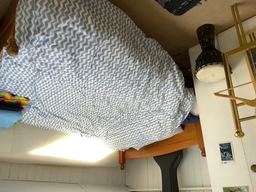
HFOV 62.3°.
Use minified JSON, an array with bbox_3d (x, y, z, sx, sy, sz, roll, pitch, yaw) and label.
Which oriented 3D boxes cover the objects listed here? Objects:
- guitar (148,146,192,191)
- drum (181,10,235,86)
[{"bbox_3d":[0.510,1.010,2.590,0.400,0.700,0.290,-24,147,39],"label":"guitar"},{"bbox_3d":[0.660,-0.390,1.780,0.250,0.490,0.280,-23,148,39],"label":"drum"}]
